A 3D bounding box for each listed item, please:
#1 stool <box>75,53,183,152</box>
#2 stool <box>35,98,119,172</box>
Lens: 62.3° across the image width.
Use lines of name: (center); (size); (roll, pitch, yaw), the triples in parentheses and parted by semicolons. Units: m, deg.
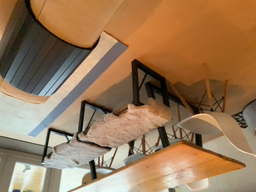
stool: (-0.030, 0.130, 2.030); (0.540, 0.480, 0.860); (23, 138, -33)
stool: (-0.610, 0.520, 2.550); (0.590, 0.480, 0.880); (23, 138, -33)
